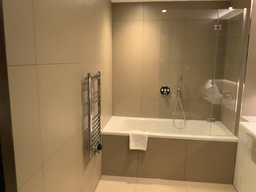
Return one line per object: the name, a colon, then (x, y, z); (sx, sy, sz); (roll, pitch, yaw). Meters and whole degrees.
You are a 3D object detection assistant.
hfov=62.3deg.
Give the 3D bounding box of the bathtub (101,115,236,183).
bathtub: (0.510, 0.700, 3.050); (1.650, 0.610, 0.740); (1, 10, 6)
